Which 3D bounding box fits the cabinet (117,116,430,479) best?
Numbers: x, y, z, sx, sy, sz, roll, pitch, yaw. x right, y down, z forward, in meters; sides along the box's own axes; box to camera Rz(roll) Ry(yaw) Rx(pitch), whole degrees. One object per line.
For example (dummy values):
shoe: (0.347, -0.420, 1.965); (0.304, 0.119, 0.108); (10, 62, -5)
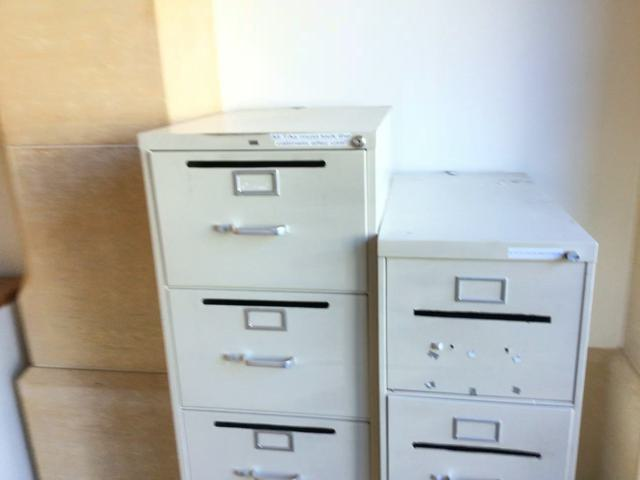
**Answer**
cabinet: (-0.050, 0.450, 1.540); (0.560, 1.500, 0.700); (0, 13, 4)
